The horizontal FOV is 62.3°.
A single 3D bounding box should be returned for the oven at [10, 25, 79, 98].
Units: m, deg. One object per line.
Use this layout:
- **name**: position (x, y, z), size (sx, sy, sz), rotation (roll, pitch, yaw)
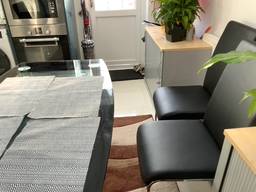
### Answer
- **oven**: position (-0.990, -0.460, 2.710), size (0.570, 0.740, 0.610), rotation (-4, 29, -5)
